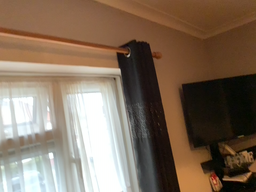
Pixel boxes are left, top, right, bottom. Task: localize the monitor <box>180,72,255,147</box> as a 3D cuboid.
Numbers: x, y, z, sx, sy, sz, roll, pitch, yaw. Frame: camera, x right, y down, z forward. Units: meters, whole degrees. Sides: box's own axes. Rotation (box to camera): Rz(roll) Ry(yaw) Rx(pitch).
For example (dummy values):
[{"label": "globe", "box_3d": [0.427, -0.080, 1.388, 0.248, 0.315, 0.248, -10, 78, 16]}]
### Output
[{"label": "monitor", "box_3d": [0.960, 0.090, 1.950, 0.950, 0.560, 0.050, -9, -5, -16]}]
